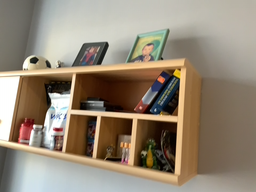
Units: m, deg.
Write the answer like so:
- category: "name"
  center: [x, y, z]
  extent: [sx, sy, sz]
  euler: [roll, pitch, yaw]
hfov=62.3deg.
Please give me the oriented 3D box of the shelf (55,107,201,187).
- category: "shelf"
  center: [0.000, 0.170, 0.830]
  extent: [0.490, 0.200, 0.260]
  euler: [2, -10, 30]
